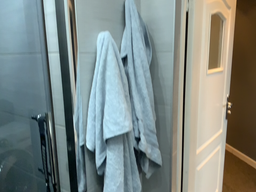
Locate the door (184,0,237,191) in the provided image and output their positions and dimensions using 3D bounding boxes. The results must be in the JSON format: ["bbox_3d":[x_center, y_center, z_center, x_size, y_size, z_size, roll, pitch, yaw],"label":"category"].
[{"bbox_3d":[0.670,0.150,1.700,0.040,2.060,0.880,9,15,37],"label":"door"}]
